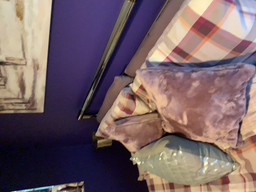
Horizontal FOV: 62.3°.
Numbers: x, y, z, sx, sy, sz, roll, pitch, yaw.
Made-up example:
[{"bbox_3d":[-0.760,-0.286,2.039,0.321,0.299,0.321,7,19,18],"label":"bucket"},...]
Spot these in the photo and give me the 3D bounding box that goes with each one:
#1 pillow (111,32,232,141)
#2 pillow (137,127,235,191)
[{"bbox_3d":[0.200,0.010,0.870,0.430,0.350,0.180,39,-151,-60],"label":"pillow"},{"bbox_3d":[0.240,0.350,1.050,0.420,0.350,0.170,86,169,-60],"label":"pillow"}]
